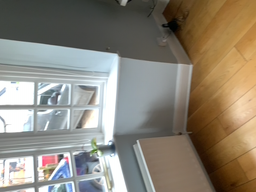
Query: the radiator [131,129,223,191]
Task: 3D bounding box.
[{"bbox_3d":[0.440,0.690,1.690,0.110,0.610,0.870,-59,41,44],"label":"radiator"}]
